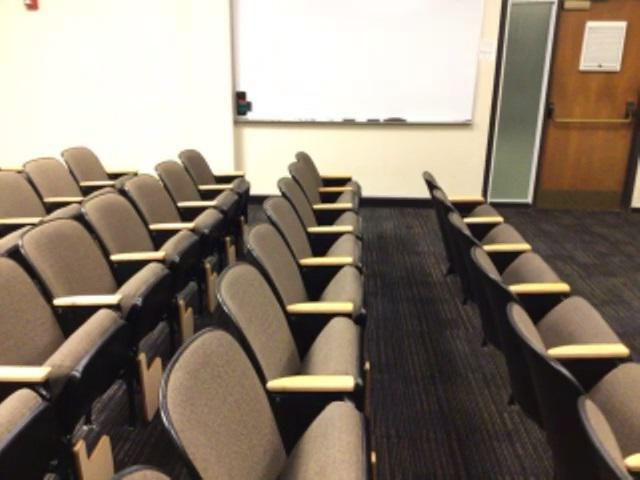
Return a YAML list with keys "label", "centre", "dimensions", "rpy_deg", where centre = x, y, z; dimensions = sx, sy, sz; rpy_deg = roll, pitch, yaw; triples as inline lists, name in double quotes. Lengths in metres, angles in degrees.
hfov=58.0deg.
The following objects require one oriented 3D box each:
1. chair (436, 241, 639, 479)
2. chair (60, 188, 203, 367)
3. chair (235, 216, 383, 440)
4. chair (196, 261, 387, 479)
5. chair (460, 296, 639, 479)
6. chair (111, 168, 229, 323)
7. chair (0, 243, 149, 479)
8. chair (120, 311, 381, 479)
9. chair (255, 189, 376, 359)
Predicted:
- label: "chair"
  centre: [0.800, 0.470, 2.110]
  dimensions: [0.580, 0.760, 0.680]
  rpy_deg: [1, 17, 0]
- label: "chair"
  centre: [-0.900, 0.170, 2.890]
  dimensions: [0.500, 0.770, 0.470]
  rpy_deg: [1, 17, 0]
- label: "chair"
  centre: [-0.040, 0.340, 2.460]
  dimensions: [0.530, 0.760, 0.590]
  rpy_deg: [1, 17, 0]
- label: "chair"
  centre: [-0.080, 0.510, 1.930]
  dimensions: [0.530, 0.770, 0.450]
  rpy_deg: [1, 17, 0]
- label: "chair"
  centre: [0.760, 0.620, 1.580]
  dimensions: [0.570, 0.740, 0.630]
  rpy_deg: [1, 17, 0]
- label: "chair"
  centre: [-0.850, 0.010, 3.430]
  dimensions: [0.500, 0.780, 0.590]
  rpy_deg: [1, 17, 0]
- label: "chair"
  centre: [-0.960, 0.470, 1.920]
  dimensions: [0.540, 0.770, 0.620]
  rpy_deg: [1, 17, 0]
- label: "chair"
  centre: [-0.130, 0.630, 1.450]
  dimensions: [0.490, 0.740, 0.540]
  rpy_deg: [1, 17, 0]
- label: "chair"
  centre: [-0.020, 0.160, 2.980]
  dimensions: [0.560, 0.770, 0.430]
  rpy_deg: [1, 17, 0]
